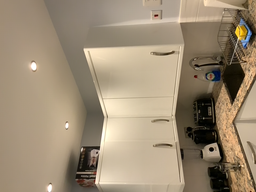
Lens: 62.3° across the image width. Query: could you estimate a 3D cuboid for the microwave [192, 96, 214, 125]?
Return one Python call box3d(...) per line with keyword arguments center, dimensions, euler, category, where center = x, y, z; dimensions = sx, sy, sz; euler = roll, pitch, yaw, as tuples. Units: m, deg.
box3d(center=(0.850, 0.170, 2.420), dimensions=(0.210, 0.170, 0.290), euler=(71, -161, -75), category="microwave")
